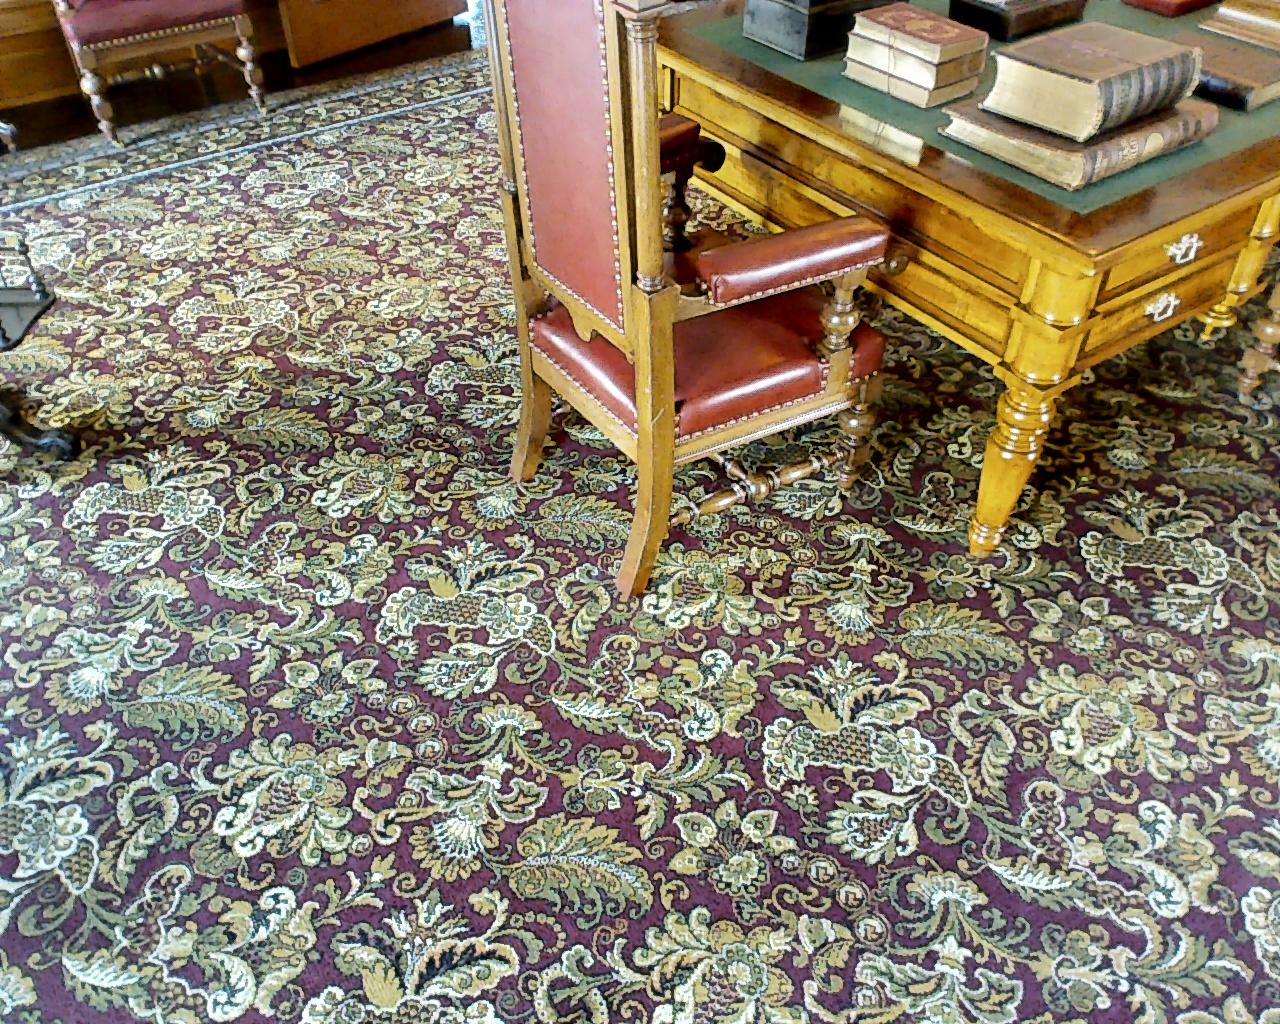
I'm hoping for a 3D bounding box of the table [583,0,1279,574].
[{"bbox_3d":[1.350,-1.050,2.860,2.650,0.770,1.380,-25,48,-25],"label":"table"}]
